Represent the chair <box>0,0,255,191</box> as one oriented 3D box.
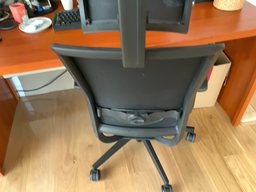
[{"bbox_3d":[0.080,-0.050,1.000,0.700,1.100,0.750,0,44,2],"label":"chair"}]
